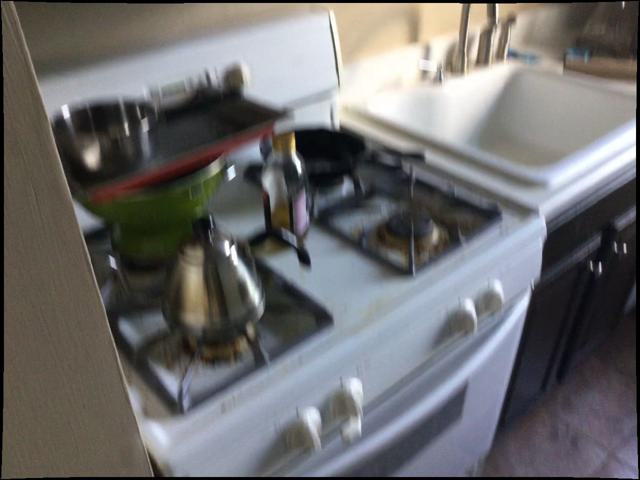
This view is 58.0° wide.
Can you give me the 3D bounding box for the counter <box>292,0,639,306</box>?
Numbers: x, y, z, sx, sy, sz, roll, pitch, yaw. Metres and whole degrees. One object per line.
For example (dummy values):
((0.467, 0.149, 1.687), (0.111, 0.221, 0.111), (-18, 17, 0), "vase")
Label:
((0.678, -0.421, 1.520), (1.359, 0.300, 0.670), (-28, 43, -30), "counter")
